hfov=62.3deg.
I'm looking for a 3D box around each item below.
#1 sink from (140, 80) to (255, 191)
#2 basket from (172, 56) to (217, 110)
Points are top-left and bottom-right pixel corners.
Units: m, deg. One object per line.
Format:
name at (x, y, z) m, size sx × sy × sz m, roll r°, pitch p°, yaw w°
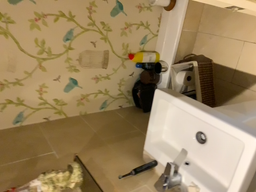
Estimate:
sink at (0.320, 0.220, 1.020) m, size 0.510 × 0.180 × 0.450 m, roll 31°, pitch 121°, yaw 46°
basket at (0.520, -0.100, 1.660) m, size 0.210 × 0.190 × 0.380 m, roll -11°, pitch 88°, yaw 54°
